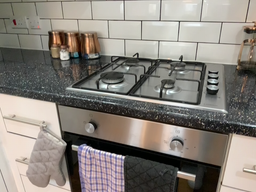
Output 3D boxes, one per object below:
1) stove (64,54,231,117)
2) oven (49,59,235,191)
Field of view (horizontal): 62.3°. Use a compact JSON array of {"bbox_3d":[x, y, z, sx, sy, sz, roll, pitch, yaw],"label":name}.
[{"bbox_3d":[0.120,-0.090,0.920,0.560,0.020,0.530,8,26,18],"label":"stove"},{"bbox_3d":[0.110,0.350,1.100,0.600,0.910,0.600,8,26,18],"label":"oven"}]
